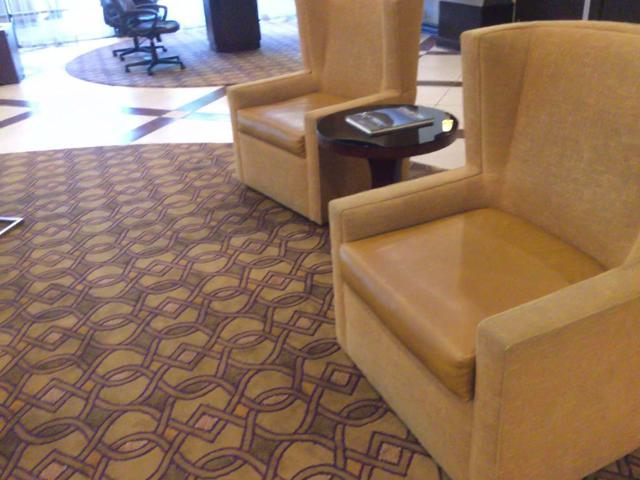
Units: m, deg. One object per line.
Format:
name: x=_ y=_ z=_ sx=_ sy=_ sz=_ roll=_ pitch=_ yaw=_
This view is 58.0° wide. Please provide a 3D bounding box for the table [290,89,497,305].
table: x=0.300 y=-0.230 z=2.590 sx=0.630 sy=0.670 sz=0.620 roll=-15 pitch=31 yaw=-21
